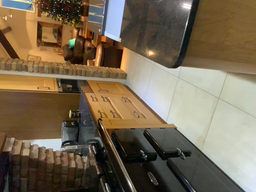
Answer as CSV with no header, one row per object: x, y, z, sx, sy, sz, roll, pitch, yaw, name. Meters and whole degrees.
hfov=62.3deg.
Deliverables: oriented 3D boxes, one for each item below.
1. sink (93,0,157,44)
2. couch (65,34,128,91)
-0.050,-0.720,1.740,0.650,0.280,0.460,-136,53,-61,sink
-0.740,-0.650,4.550,1.300,0.980,0.960,-167,81,-67,couch
